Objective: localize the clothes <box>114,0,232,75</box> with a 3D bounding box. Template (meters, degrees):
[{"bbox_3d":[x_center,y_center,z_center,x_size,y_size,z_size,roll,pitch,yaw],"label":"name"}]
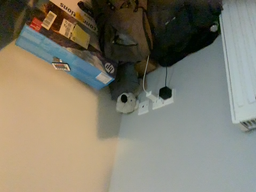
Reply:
[{"bbox_3d":[0.210,-0.370,1.050,0.320,0.260,0.430,31,142,-30],"label":"clothes"}]
